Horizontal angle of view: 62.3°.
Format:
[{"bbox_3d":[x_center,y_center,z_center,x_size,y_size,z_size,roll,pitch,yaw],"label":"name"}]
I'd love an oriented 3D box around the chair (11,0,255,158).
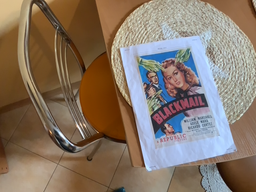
[{"bbox_3d":[-0.030,-0.010,0.830,0.430,0.870,0.370,-14,75,-10],"label":"chair"}]
